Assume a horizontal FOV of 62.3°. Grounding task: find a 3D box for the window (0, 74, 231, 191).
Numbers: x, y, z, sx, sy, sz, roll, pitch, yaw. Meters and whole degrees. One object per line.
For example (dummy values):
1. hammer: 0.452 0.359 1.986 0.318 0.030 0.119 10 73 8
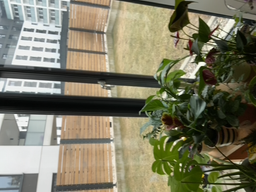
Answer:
1. window: -0.290 0.760 1.770 0.190 2.480 2.140 113 156 -52
